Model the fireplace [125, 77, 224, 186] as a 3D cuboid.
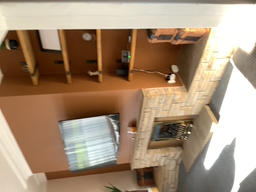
[{"bbox_3d":[0.510,0.610,3.130,1.790,0.870,0.600,97,165,-45],"label":"fireplace"}]
